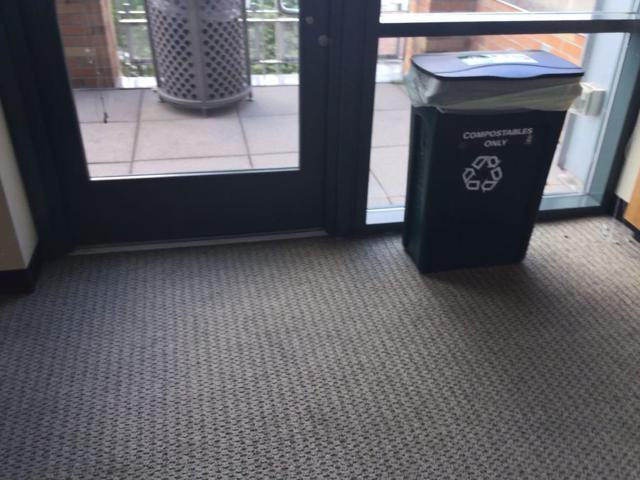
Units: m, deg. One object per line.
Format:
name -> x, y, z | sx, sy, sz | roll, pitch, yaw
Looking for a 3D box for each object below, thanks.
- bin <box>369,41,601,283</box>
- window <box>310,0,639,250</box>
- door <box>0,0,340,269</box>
bin -> 0.540, -0.280, 2.110 | 0.610, 0.790, 0.350 | -2, 31, -6
window -> 0.660, -1.140, 1.930 | 1.310, 2.470, 0.370 | -2, 31, -6
door -> -0.480, -0.730, 1.880 | 1.050, 1.720, 0.310 | -2, 31, -6
